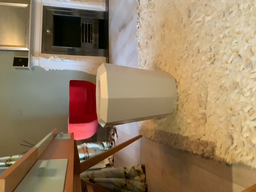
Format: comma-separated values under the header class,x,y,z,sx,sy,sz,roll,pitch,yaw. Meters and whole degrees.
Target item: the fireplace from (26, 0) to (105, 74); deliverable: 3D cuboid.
class,x,y,z,sx,sy,sz,roll,pitch,yaw
fireplace,-1.150,-1.220,4.050,0.500,1.350,1.490,166,103,-75
